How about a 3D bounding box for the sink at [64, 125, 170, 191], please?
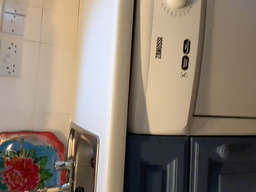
[{"bbox_3d":[-0.080,0.350,0.690,0.440,0.200,0.470,174,100,-67],"label":"sink"}]
